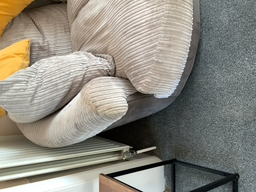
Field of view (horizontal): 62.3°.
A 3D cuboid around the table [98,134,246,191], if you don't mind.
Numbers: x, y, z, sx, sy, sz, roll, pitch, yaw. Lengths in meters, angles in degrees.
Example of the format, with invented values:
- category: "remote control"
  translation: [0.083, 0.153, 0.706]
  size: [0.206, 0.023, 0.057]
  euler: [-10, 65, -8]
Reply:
- category: "table"
  translation: [0.180, 0.440, 0.860]
  size: [0.360, 0.480, 0.470]
  euler: [-1, 89, 53]

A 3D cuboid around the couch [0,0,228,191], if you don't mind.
- category: "couch"
  translation: [-0.230, -0.430, 1.200]
  size: [1.240, 0.730, 1.350]
  euler: [1, 91, 53]

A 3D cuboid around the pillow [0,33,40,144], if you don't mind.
- category: "pillow"
  translation: [-0.710, -0.040, 1.140]
  size: [0.600, 0.290, 0.470]
  euler: [3, 92, 53]
